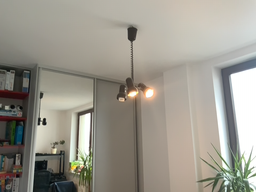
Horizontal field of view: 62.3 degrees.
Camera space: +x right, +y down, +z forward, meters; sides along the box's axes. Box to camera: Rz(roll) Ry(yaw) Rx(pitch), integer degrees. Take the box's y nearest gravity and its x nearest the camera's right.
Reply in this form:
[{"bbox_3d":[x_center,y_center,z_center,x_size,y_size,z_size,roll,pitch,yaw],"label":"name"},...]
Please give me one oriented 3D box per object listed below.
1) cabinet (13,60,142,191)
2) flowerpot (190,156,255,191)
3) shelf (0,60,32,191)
[{"bbox_3d":[-0.680,1.000,3.260,1.770,2.670,0.650,9,-16,-36],"label":"cabinet"},{"bbox_3d":[1.030,1.400,2.190,0.430,1.450,0.650,1,-13,-8],"label":"flowerpot"},{"bbox_3d":[-1.850,0.850,2.550,0.980,2.670,0.380,9,-16,-36],"label":"shelf"}]
